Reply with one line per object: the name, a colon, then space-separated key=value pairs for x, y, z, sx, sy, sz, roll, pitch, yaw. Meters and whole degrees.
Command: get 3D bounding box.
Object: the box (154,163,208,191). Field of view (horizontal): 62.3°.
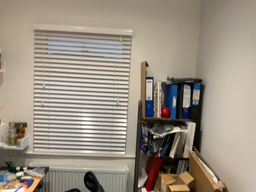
box: x=0.450 y=0.770 z=1.860 sx=0.330 sy=0.220 sz=0.320 roll=1 pitch=6 yaw=-14
